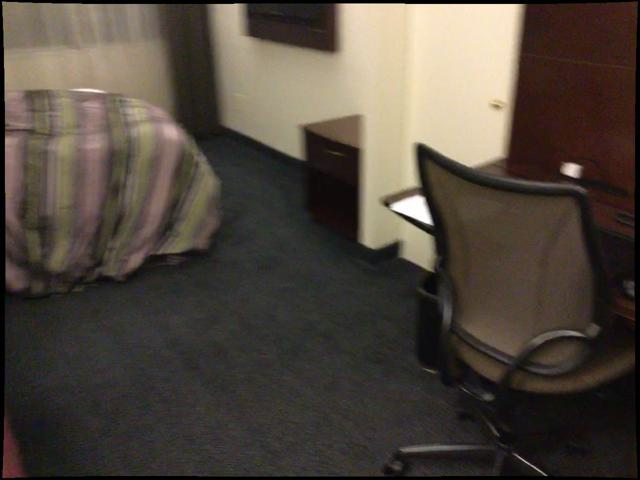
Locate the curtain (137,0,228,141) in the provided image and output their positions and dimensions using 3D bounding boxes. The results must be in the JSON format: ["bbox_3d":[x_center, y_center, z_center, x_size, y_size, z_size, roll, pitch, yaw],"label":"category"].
[{"bbox_3d":[-1.119,-1.902,4.530,0.470,2.112,0.490,-18,32,-31],"label":"curtain"}]

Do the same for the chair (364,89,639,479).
[{"bbox_3d":[0.569,0.230,1.610,0.650,1.111,0.550,-18,32,-31],"label":"chair"}]

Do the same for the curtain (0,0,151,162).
[{"bbox_3d":[-2.038,-1.391,4.470,1.249,1.361,0.240,-18,32,-31],"label":"curtain"}]

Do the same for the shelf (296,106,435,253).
[{"bbox_3d":[0.240,-0.380,3.360,0.480,0.600,0.640,-18,32,-31],"label":"shelf"}]
